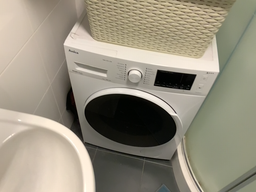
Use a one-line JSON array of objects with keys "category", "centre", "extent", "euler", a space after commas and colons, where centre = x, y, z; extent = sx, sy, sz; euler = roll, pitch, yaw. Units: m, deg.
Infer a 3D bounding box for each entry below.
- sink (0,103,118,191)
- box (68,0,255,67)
[{"category": "sink", "centre": [-0.290, 0.290, 0.500], "extent": [0.420, 0.150, 0.510], "euler": [12, 52, 4]}, {"category": "box", "centre": [0.120, -0.410, 0.830], "extent": [0.560, 0.250, 0.440], "euler": [12, 52, 4]}]
